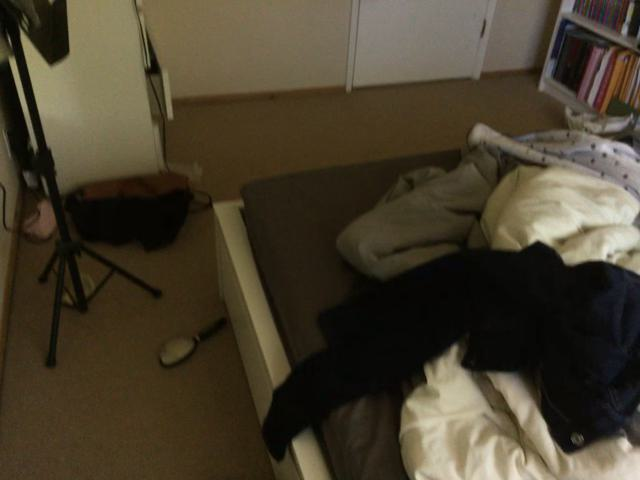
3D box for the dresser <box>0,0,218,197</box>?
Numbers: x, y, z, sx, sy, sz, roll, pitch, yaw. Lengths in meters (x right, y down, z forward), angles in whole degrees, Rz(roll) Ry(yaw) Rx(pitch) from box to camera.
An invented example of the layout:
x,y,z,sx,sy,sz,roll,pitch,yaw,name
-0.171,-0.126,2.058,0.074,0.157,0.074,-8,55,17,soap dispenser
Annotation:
x,y,z,sx,sy,sz,roll,pitch,yaw,name
-0.840,-0.860,2.410,0.680,1.010,0.830,-6,38,-8,dresser
